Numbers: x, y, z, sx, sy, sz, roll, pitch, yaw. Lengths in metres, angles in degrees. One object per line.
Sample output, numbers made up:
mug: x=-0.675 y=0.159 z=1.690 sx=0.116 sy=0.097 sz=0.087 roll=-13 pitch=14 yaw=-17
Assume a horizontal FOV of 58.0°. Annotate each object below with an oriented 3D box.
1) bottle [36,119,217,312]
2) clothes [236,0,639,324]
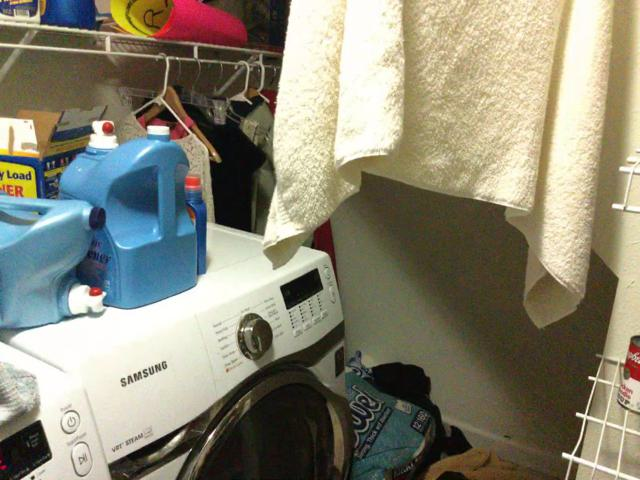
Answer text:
bottle: x=-0.330 y=-0.060 z=1.010 sx=0.200 sy=0.280 sz=0.210 roll=12 pitch=16 yaw=28
clothes: x=0.190 y=-0.340 z=0.750 sx=0.510 sy=0.770 sz=0.250 roll=-7 pitch=18 yaw=-37
